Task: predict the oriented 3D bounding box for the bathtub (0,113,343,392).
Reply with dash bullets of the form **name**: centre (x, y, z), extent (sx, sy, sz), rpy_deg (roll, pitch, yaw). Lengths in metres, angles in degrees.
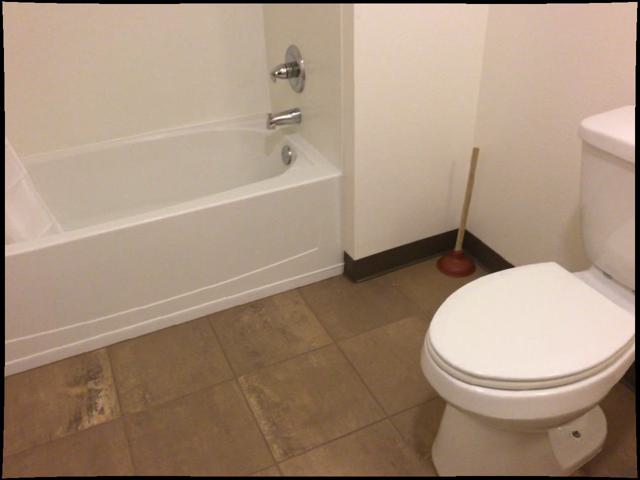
- **bathtub**: centre (-0.758, -0.010, 2.210), extent (1.507, 0.471, 0.760), rpy_deg (-16, 35, -20)
